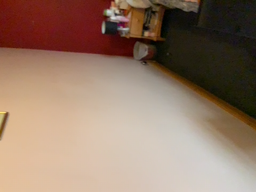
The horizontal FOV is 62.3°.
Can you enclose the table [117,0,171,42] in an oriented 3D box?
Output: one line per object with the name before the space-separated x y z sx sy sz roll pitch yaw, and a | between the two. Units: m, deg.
table | 0.200 -1.050 2.970 0.430 0.570 0.450 -128 42 -60
